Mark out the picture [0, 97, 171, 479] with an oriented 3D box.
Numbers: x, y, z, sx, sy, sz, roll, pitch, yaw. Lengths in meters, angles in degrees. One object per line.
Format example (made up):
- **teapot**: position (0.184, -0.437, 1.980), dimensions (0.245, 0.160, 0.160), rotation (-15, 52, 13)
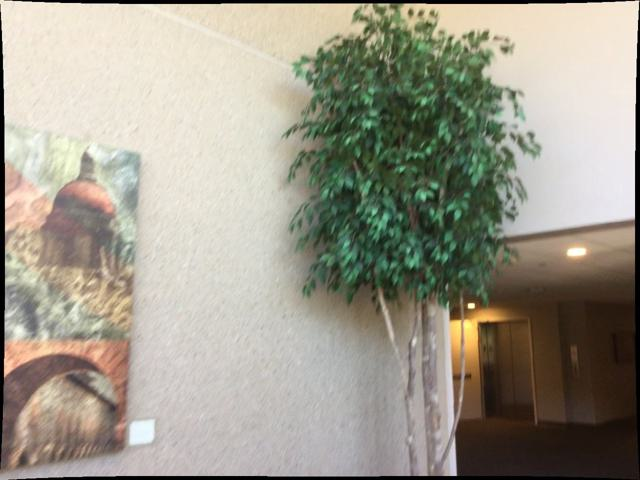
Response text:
- **picture**: position (-1.767, 0.190, 2.330), dimensions (2.308, 1.703, 0.320), rotation (7, -14, -39)
